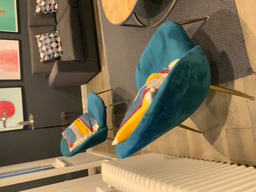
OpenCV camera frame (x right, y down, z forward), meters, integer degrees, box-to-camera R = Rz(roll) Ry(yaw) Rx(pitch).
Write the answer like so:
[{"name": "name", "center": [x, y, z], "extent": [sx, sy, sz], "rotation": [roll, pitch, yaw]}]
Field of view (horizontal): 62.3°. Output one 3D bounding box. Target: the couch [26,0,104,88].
[{"name": "couch", "center": [-1.140, -1.270, 3.550], "extent": [1.050, 0.920, 2.070], "rotation": [-21, 75, 62]}]
